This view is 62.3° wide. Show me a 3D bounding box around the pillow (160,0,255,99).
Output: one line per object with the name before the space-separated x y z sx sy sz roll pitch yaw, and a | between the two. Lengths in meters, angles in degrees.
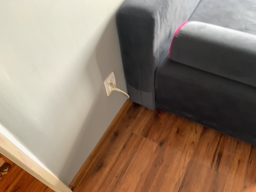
pillow | 0.520 -0.230 0.990 0.630 0.200 0.360 24 59 22
